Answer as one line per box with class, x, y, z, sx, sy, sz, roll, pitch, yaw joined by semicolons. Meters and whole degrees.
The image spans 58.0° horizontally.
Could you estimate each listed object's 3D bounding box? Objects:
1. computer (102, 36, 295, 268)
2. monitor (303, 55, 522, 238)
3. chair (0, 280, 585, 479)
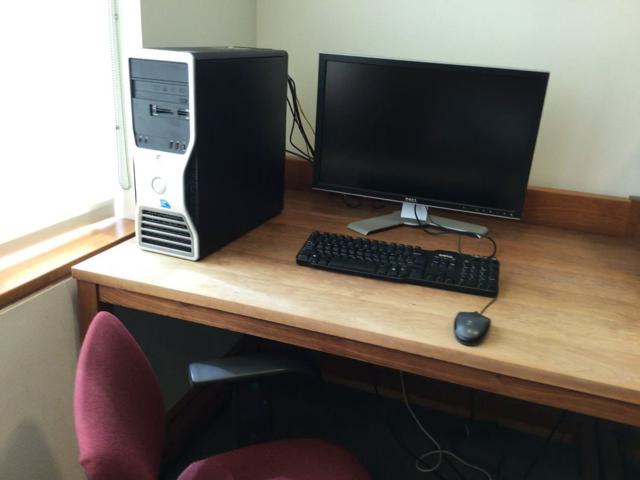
computer;-0.270;-0.230;1.410;0.220;0.450;0.490;10;16;18
monitor;0.240;-0.260;1.540;0.500;0.400;0.210;10;16;18
chair;-0.080;0.560;0.980;0.630;0.800;0.610;3;16;-7
